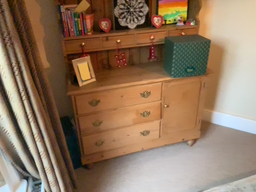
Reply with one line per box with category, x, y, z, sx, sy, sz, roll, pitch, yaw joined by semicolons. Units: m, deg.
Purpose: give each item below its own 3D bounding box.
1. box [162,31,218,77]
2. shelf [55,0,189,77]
box;0.500;-0.360;1.770;0.320;0.270;0.280;-10;30;-15
shelf;-0.030;-0.740;1.660;1.030;1.060;0.190;-9;30;-14
